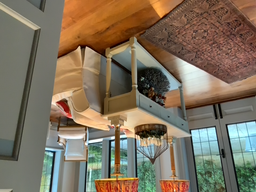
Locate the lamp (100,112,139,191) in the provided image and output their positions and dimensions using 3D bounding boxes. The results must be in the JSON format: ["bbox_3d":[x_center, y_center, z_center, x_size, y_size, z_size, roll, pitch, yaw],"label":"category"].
[{"bbox_3d":[-0.070,0.560,1.890,0.190,0.770,0.300,-15,154,30],"label":"lamp"}]

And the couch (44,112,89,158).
[{"bbox_3d":[-1.370,0.920,4.920,0.770,0.930,0.720,0,158,-2],"label":"couch"}]

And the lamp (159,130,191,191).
[{"bbox_3d":[0.630,0.910,2.860,0.230,0.810,0.370,-14,155,30],"label":"lamp"}]

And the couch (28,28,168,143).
[{"bbox_3d":[-0.240,0.060,2.950,0.880,0.850,1.780,-14,155,30],"label":"couch"}]

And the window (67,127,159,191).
[{"bbox_3d":[-0.480,1.770,4.920,2.540,1.760,0.080,-15,155,30],"label":"window"}]
